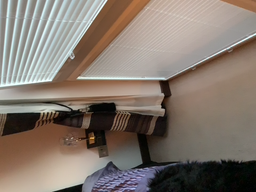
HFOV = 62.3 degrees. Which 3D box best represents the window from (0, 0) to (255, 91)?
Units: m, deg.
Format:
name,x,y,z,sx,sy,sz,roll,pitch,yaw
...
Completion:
name,x,y,z,sx,sy,sz,roll,pitch,yaw
window,-0.310,-0.200,0.820,1.120,2.160,0.050,-26,71,54
